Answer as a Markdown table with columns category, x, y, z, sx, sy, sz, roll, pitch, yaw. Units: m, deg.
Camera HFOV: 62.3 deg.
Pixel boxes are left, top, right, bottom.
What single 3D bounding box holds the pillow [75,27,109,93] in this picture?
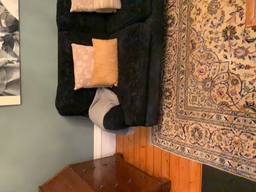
| category | x | y | z | sx | sy | sz | roll | pitch | yaw |
| --- | --- | --- | --- | --- | --- | --- | --- | --- | --- |
| pillow | -0.340 | -0.320 | 2.090 | 0.480 | 0.170 | 0.550 | 12 | -100 | -82 |

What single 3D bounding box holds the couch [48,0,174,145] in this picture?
| category | x | y | z | sx | sy | sz | roll | pitch | yaw |
| --- | --- | --- | --- | --- | --- | --- | --- | --- | --- |
| couch | -0.230 | -0.670 | 2.140 | 1.060 | 0.840 | 1.980 | 5 | 95 | 54 |
